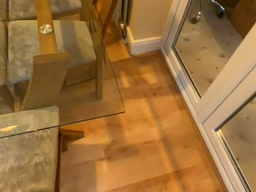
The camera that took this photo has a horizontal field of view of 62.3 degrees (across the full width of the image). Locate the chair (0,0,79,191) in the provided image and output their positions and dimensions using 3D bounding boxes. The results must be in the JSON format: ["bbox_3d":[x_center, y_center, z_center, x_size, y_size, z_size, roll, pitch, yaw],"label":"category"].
[{"bbox_3d":[-0.460,0.210,0.810,0.400,1.030,0.550,-12,61,-14],"label":"chair"}]
